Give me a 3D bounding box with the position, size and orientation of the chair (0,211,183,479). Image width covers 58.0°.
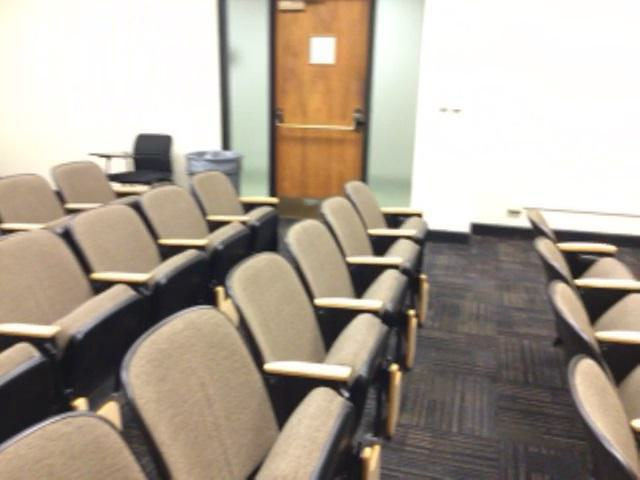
[{"bbox_3d":[-0.950,0.370,2.180,0.580,0.830,0.570,2,16,13],"label":"chair"}]

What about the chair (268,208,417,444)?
[{"bbox_3d":[0.130,0.320,2.450,0.500,0.780,0.590,2,16,13],"label":"chair"}]

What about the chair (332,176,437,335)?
[{"bbox_3d":[0.390,0.060,3.350,0.520,0.760,0.570,2,16,13],"label":"chair"}]

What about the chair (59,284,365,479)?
[{"bbox_3d":[-0.200,0.590,1.520,0.550,0.760,0.590,2,16,13],"label":"chair"}]

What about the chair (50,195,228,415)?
[{"bbox_3d":[-0.780,0.260,2.640,0.490,0.830,0.540,2,16,13],"label":"chair"}]

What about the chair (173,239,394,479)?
[{"bbox_3d":[-0.070,0.460,1.980,0.560,0.770,0.590,3,17,15],"label":"chair"}]

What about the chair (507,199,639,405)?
[{"bbox_3d":[1.180,0.240,2.660,0.520,0.730,0.640,2,16,13],"label":"chair"}]

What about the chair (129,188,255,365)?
[{"bbox_3d":[-0.640,0.170,3.020,0.440,0.810,0.420,2,16,13],"label":"chair"}]

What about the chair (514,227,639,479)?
[{"bbox_3d":[1.040,0.400,2.180,0.490,0.750,0.600,2,16,13],"label":"chair"}]

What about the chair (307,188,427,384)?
[{"bbox_3d":[0.260,0.190,2.900,0.490,0.780,0.630,2,16,13],"label":"chair"}]
